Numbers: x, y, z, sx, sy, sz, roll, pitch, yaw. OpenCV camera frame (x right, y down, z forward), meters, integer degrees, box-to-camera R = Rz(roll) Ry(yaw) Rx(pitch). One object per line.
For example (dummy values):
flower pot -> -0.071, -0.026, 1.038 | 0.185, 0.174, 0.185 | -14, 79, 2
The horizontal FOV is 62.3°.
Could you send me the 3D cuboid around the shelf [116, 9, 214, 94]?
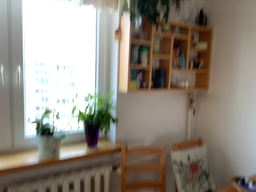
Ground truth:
shelf -> 0.360, -0.350, 1.900 | 0.950, 0.630, 0.170 | -2, 8, -31
